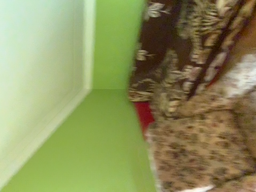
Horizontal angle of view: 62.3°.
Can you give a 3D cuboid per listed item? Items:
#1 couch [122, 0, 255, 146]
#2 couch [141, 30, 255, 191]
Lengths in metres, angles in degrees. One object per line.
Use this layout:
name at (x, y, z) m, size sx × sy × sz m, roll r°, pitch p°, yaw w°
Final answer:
couch at (0.530, -0.500, 2.380) m, size 1.050 × 0.730 × 2.060 m, roll -106°, pitch 21°, yaw -44°
couch at (0.700, 0.220, 1.330) m, size 0.870 × 0.930 × 0.750 m, roll 113°, pitch 152°, yaw -57°
